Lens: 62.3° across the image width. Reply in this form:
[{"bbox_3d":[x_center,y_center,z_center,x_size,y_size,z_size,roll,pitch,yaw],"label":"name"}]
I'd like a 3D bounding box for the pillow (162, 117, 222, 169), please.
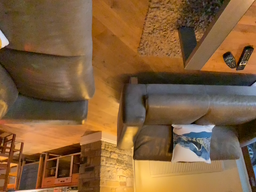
[{"bbox_3d":[0.760,0.550,2.570,0.490,0.470,0.180,-14,142,-17],"label":"pillow"}]

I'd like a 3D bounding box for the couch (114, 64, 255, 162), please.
[{"bbox_3d":[0.710,0.300,2.600,1.680,0.780,1.150,1,154,-7],"label":"couch"}]

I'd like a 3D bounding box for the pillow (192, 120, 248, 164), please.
[{"bbox_3d":[1.180,0.580,2.740,0.520,0.410,0.130,-16,142,-21],"label":"pillow"}]
